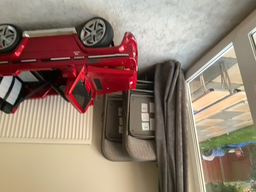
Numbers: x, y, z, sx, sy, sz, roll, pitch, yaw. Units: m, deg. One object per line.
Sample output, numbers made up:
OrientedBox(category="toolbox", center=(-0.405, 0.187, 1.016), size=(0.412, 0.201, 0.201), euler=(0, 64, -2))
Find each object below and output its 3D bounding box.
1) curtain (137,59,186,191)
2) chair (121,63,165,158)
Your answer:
OrientedBox(category="curtain", center=(0.310, 0.710, 2.000), size=(0.220, 2.160, 0.440), euler=(5, 157, -16))
OrientedBox(category="chair", center=(0.130, 0.130, 2.110), size=(0.370, 0.930, 0.110), euler=(5, 157, -17))
